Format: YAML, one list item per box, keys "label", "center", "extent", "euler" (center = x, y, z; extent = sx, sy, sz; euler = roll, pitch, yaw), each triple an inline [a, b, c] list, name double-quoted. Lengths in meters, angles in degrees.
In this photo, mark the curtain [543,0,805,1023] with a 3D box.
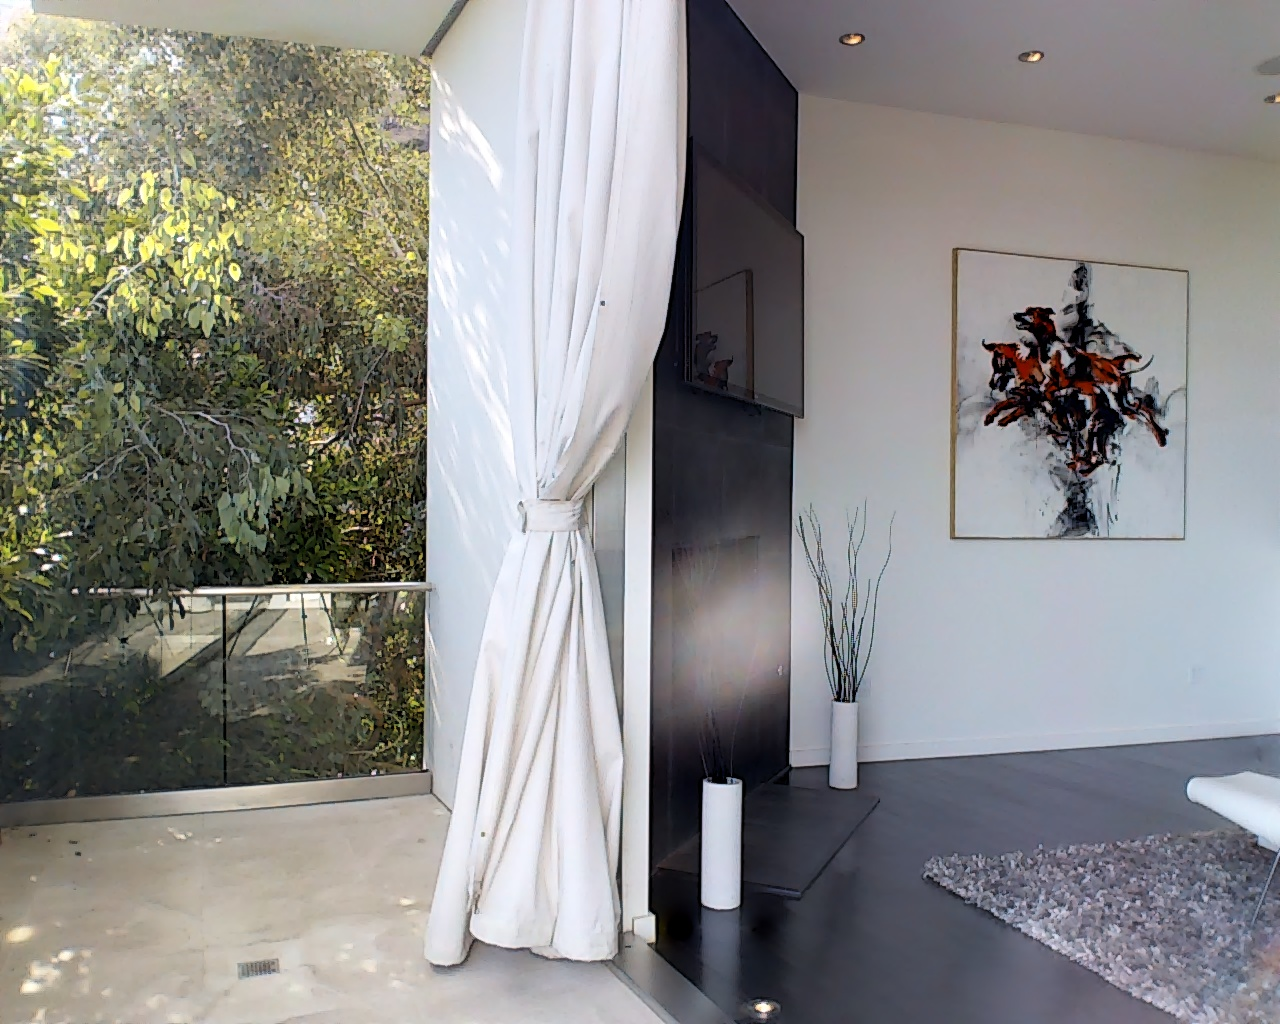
- label: "curtain"
  center: [0.060, -0.270, 3.350]
  extent: [0.440, 3.471, 1.010]
  euler: [1, 0, -20]
